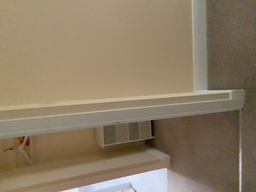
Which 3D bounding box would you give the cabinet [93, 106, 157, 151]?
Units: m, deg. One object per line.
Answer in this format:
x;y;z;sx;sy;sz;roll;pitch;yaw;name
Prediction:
-0.040;0.400;2.780;0.340;0.740;0.440;-177;83;-66;cabinet
